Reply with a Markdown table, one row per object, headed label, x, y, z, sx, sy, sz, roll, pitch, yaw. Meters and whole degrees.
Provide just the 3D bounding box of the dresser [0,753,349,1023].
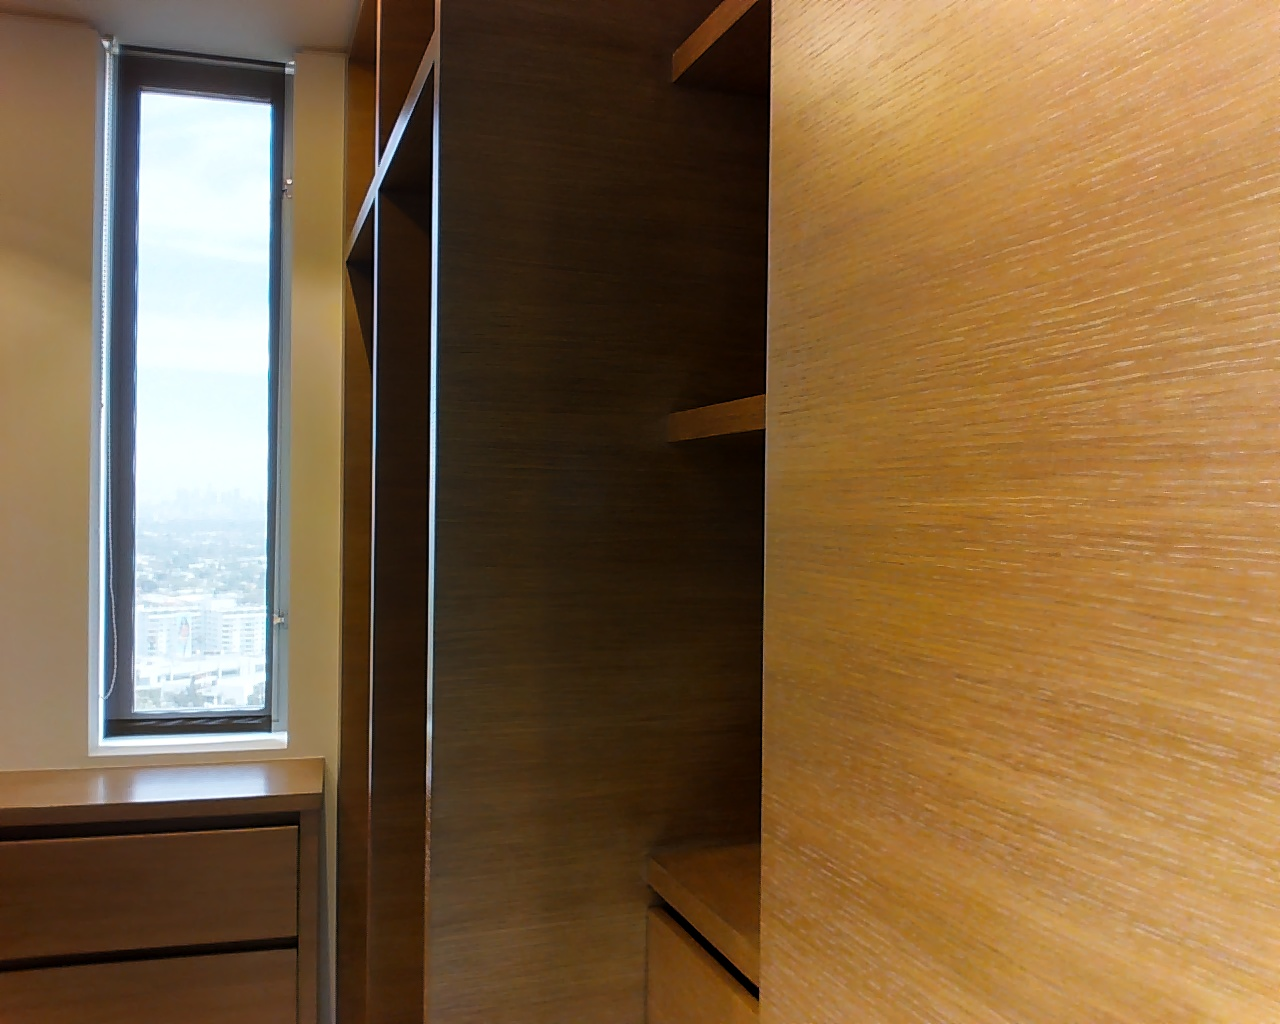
| label | x | y | z | sx | sy | sz | roll | pitch | yaw |
| --- | --- | --- | --- | --- | --- | --- | --- | --- | --- |
| dresser | -1.140 | 1.030 | 2.260 | 1.000 | 0.920 | 0.320 | 1 | 0 | -18 |
